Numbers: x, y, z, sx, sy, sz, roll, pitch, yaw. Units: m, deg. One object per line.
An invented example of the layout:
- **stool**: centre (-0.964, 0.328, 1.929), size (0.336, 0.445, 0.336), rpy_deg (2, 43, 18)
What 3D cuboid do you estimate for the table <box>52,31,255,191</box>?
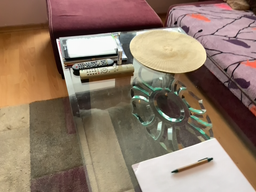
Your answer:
- **table**: centre (0.110, 0.210, 0.980), size (0.710, 0.460, 1.090), rpy_deg (-11, 48, -17)
